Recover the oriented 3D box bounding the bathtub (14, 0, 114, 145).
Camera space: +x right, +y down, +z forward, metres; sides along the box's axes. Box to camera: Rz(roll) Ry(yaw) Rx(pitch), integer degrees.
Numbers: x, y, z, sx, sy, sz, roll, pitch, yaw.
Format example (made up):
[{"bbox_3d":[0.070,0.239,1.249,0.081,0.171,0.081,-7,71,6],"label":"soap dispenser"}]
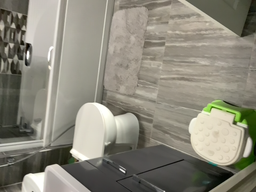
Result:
[{"bbox_3d":[-0.640,-0.450,2.090,0.680,0.560,1.630,13,97,44],"label":"bathtub"}]
